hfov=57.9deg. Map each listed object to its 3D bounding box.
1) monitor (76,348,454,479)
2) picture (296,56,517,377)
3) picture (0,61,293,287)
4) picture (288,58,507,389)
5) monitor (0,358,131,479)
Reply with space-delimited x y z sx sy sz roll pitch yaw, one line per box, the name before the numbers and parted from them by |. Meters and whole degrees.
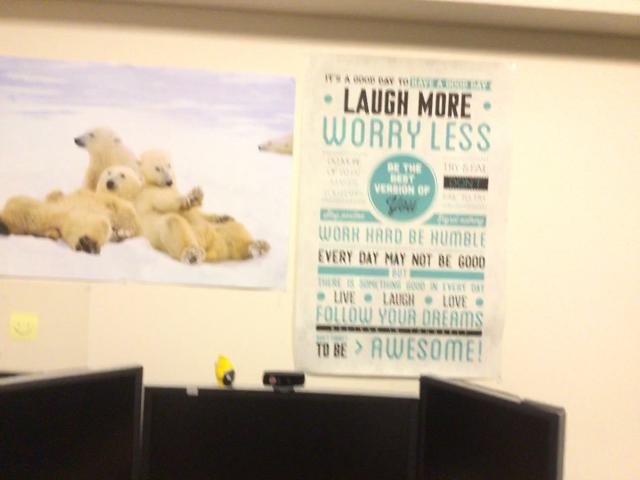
monitor | -0.130 0.580 1.420 0.840 0.560 0.230 2 0 -3
picture | 0.240 -0.060 1.620 0.580 0.860 0.050 2 0 -3
picture | -0.500 -0.170 1.560 0.830 0.560 0.080 2 0 -3
picture | 0.220 -0.040 1.620 0.580 0.900 0.010 2 0 -3
monitor | -0.610 0.560 1.280 0.090 0.540 0.340 2 0 45
